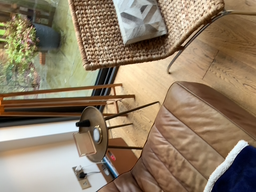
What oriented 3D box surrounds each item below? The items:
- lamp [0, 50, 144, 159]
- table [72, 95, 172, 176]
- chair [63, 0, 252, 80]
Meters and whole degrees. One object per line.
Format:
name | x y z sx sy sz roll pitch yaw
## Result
lamp | -0.700 0.040 1.670 0.550 1.560 0.540 49 126 36
table | -0.050 0.270 1.680 0.400 0.580 0.390 46 124 38
chair | 0.130 -0.570 1.330 0.730 0.740 0.660 -33 67 45
